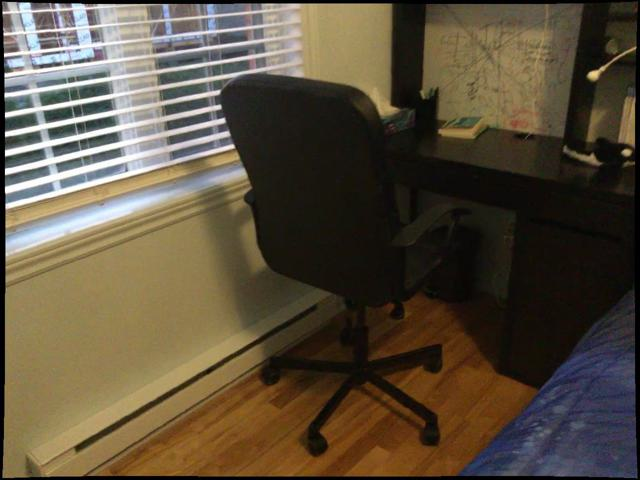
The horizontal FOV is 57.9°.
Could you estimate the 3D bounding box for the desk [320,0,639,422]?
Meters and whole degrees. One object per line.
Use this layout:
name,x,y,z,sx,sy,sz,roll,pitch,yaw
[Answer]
desk,0.639,-0.310,2.020,1.129,1.371,0.600,19,33,37
